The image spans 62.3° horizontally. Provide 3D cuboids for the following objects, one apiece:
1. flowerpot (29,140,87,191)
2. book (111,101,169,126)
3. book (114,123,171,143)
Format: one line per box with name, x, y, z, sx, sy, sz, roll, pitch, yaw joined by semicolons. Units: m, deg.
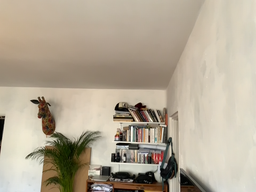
flowerpot;-1.020;1.240;3.120;0.650;1.110;0.450;2;-10;2
book;0.190;0.280;3.330;0.870;0.340;0.240;1;-10;9
book;0.230;0.570;3.270;0.850;0.260;0.150;1;-10;8
